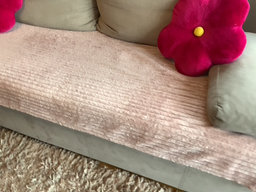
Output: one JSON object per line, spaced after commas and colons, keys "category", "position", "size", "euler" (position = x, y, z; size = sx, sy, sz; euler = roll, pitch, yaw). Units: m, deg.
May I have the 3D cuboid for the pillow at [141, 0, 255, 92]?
{"category": "pillow", "position": [0.330, -0.270, 0.900], "size": [0.390, 0.350, 0.170], "euler": [42, 46, -16]}
